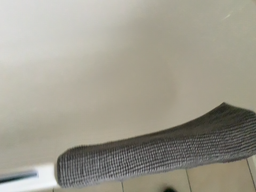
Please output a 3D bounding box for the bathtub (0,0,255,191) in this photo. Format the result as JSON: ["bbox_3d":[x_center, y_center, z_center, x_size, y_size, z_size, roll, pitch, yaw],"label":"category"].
[{"bbox_3d":[-0.270,-0.010,0.870,1.750,0.560,0.720,-8,75,-7],"label":"bathtub"}]
